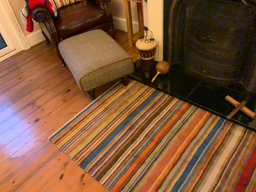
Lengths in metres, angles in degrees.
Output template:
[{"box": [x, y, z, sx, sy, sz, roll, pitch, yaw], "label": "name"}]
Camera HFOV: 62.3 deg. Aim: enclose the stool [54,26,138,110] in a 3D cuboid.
[{"box": [-0.310, -0.300, 2.000, 0.510, 0.360, 0.690, -24, 44, -16], "label": "stool"}]
